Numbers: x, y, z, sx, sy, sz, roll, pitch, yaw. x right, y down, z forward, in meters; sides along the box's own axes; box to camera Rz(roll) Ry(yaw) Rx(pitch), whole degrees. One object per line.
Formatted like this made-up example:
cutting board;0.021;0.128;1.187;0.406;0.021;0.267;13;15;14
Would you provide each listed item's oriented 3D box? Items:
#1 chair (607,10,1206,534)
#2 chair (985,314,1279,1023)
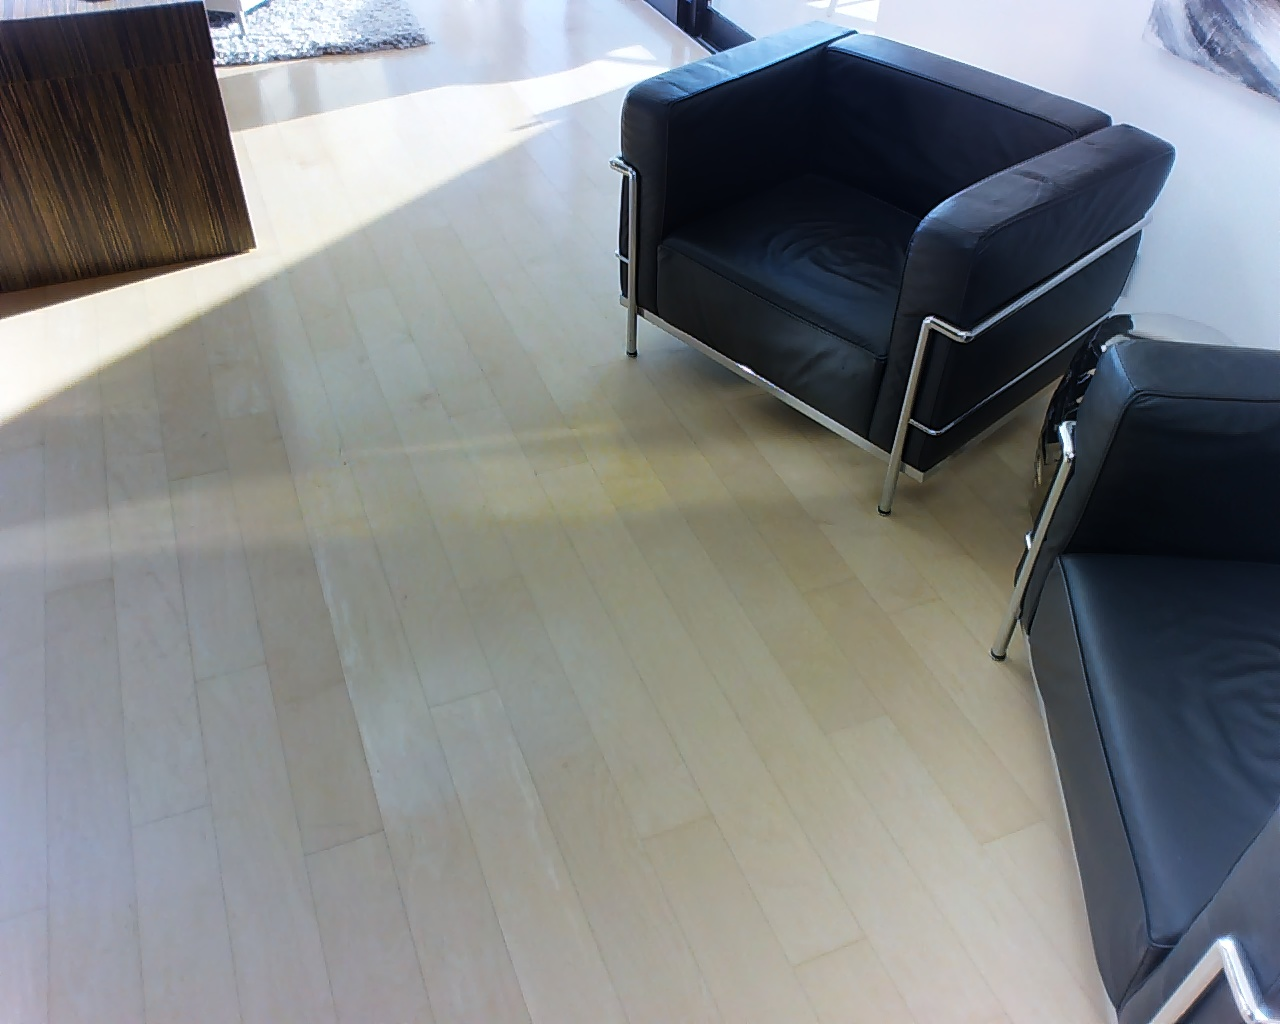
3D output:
chair;0.550;-0.630;2.560;0.760;0.680;1.030;-32;51;-31
chair;1.010;0.320;1.500;0.750;0.690;1.030;5;42;4
